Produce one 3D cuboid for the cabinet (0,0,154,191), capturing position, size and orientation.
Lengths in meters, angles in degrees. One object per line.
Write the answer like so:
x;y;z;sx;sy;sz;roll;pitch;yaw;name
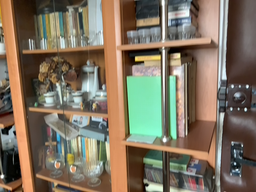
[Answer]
-0.250;0.320;1.210;0.700;1.870;0.390;4;11;25;cabinet
